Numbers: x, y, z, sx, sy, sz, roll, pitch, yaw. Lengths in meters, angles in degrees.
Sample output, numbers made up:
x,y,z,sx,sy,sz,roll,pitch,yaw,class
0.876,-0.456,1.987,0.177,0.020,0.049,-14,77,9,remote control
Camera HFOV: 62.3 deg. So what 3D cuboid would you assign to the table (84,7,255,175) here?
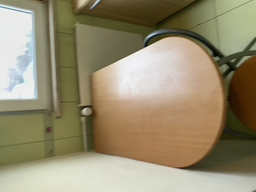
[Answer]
x,y,z,sx,sy,sz,roll,pitch,yaw,class
0.330,0.030,1.330,1.010,0.810,0.550,-13,81,54,table
